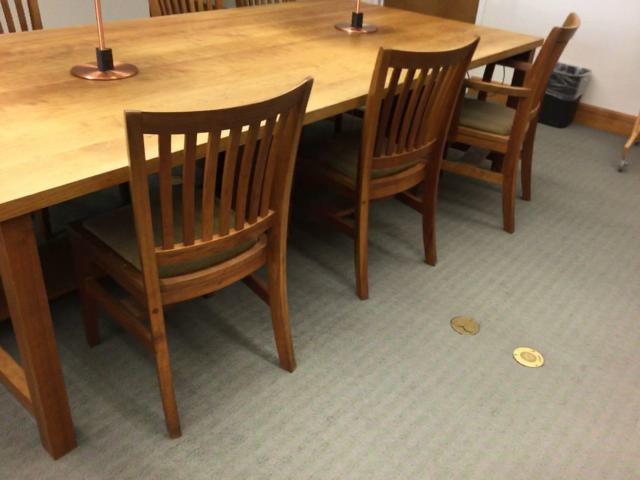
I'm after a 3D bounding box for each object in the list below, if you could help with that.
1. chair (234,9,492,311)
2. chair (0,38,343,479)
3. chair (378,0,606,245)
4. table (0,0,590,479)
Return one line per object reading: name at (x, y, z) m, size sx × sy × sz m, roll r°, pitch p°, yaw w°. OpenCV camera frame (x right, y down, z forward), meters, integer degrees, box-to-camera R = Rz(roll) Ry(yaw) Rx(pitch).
chair at (0.120, -0.360, 2.270) m, size 0.740 × 0.910 × 0.540 m, roll 25°, pitch 35°, yaw 34°
chair at (-0.430, -0.020, 1.640) m, size 0.640 × 0.910 × 0.670 m, roll 25°, pitch 35°, yaw 34°
chair at (0.780, -0.620, 2.740) m, size 0.630 × 0.960 × 0.680 m, roll 25°, pitch 35°, yaw 34°
table at (-0.260, -0.500, 2.480) m, size 1.580 × 0.950 × 2.880 m, roll 25°, pitch 35°, yaw 34°
